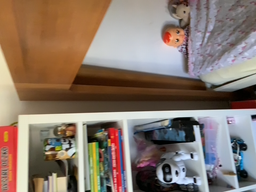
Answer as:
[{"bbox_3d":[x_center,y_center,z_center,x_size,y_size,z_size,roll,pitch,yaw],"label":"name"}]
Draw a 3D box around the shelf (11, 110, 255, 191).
[{"bbox_3d":[0.240,0.480,1.050,0.380,1.420,0.760,151,118,-63],"label":"shelf"}]
